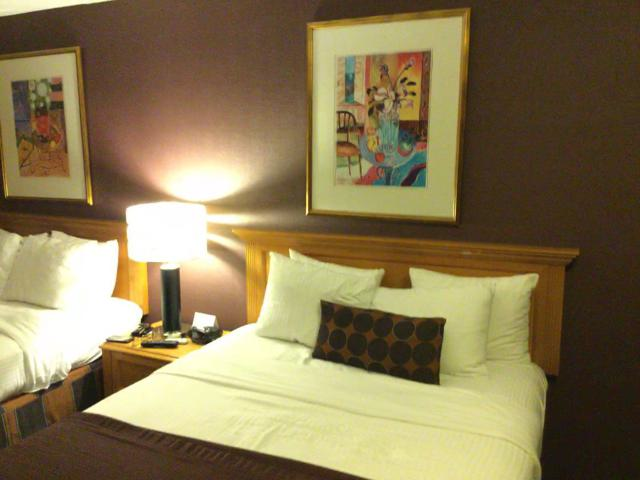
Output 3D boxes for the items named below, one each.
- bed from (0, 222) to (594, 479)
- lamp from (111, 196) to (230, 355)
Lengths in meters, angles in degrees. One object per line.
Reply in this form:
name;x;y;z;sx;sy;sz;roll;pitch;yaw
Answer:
bed;-0.080;0.720;1.830;1.600;1.350;2.090;4;7;24
lamp;-0.750;0.150;2.940;0.400;0.720;0.420;4;7;24
